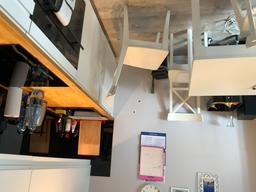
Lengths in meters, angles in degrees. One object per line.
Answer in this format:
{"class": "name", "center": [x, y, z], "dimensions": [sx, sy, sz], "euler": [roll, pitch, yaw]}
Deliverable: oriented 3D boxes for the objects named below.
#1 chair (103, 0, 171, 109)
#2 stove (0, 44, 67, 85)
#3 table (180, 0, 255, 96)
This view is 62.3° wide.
{"class": "chair", "center": [0.080, -0.390, 2.080], "dimensions": [0.560, 0.910, 0.410], "euler": [5, 163, -7]}
{"class": "stove", "center": [-0.780, -0.170, 1.350], "dimensions": [0.580, 0.010, 0.560], "euler": [1, 163, 9]}
{"class": "table", "center": [1.090, -0.500, 1.770], "dimensions": [1.240, 0.770, 0.820], "euler": [-1, 163, 13]}
